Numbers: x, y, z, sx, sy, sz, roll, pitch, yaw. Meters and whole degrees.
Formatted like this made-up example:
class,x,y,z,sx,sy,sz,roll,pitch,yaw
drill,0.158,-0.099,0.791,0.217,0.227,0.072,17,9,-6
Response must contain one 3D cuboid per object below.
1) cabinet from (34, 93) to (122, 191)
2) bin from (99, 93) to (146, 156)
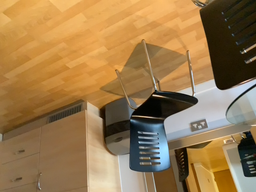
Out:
class,x,y,z,sx,sy,sz,roll,pitch,yaw
cabinet,-0.450,1.110,2.010,0.610,2.140,0.590,-20,150,21
bin,-0.070,0.320,2.320,0.360,0.550,0.300,-20,150,21
